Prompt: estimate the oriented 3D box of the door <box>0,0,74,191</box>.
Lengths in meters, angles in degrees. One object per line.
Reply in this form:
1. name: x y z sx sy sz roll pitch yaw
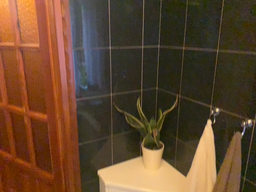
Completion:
1. door: -0.760 0.180 1.430 0.940 2.070 0.140 11 19 33
